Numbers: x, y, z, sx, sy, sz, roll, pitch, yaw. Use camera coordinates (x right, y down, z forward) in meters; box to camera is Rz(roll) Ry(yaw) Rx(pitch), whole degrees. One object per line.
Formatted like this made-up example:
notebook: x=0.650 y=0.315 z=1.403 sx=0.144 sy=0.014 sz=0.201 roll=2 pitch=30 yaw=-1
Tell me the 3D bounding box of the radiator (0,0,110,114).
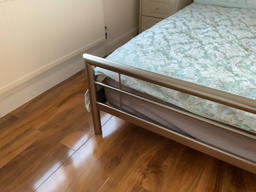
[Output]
radiator: x=-0.590 y=-0.470 z=1.660 sx=0.090 sy=0.680 sz=1.350 roll=18 pitch=39 yaw=25
